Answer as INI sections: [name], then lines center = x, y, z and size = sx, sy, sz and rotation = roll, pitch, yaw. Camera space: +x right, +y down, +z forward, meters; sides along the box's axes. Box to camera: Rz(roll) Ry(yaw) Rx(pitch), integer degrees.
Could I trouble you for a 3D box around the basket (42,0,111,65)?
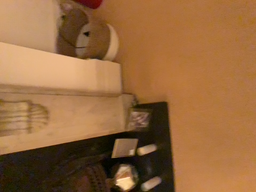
[basket]
center = -0.390, -0.480, 1.640
size = 0.330, 0.390, 0.360
rotation = -7, 84, 35
